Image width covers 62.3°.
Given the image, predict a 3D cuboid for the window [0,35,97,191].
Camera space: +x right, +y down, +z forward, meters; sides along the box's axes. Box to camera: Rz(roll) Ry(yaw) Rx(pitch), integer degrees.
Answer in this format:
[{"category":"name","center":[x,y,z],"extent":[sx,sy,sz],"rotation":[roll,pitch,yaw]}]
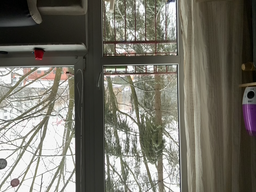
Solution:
[{"category":"window","center":[-1.020,0.340,1.720],"extent":[1.460,1.520,0.450],"rotation":[-1,180,2]}]
